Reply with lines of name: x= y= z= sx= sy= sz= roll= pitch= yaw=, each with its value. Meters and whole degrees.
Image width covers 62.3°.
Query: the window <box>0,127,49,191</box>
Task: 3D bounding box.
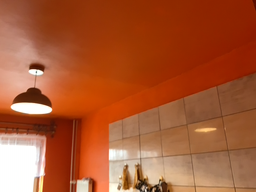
window: x=-2.080 y=1.070 z=2.890 sx=1.760 sy=1.290 sz=0.330 roll=11 pitch=-22 yaw=-33
